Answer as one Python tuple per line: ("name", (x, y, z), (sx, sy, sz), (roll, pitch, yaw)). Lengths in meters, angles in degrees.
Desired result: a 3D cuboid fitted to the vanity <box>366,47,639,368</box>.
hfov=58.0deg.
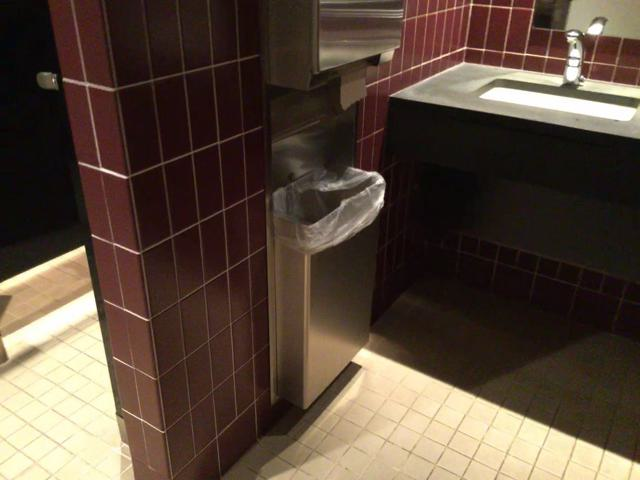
("vanity", (1.030, -0.080, 1.730), (1.660, 0.710, 0.600), (17, 32, 28))
